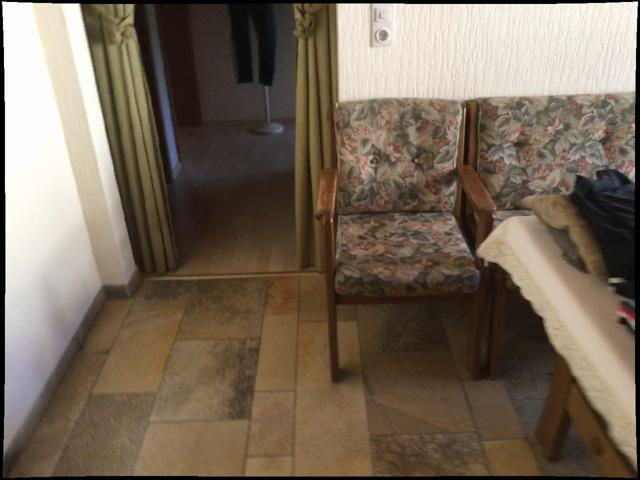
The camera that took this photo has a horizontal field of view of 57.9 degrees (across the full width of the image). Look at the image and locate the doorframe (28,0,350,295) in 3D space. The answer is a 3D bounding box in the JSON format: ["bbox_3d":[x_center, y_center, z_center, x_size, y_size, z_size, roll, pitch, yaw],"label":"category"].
[{"bbox_3d":[-0.450,-0.771,2.190,1.089,2.122,0.310,-2,30,1],"label":"doorframe"}]
